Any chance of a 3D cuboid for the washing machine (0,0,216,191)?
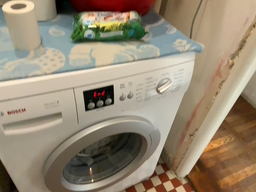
[{"bbox_3d":[-0.210,0.060,0.980,0.620,0.840,0.640,-14,49,-23],"label":"washing machine"}]
